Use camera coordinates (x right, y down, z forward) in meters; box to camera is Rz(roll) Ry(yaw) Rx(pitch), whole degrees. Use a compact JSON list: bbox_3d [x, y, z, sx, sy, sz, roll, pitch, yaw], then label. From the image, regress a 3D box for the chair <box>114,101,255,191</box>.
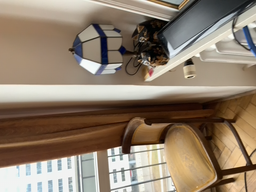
[{"bbox_3d":[0.390,0.380,1.430,0.460,0.780,0.490,117,143,-44],"label":"chair"}]
